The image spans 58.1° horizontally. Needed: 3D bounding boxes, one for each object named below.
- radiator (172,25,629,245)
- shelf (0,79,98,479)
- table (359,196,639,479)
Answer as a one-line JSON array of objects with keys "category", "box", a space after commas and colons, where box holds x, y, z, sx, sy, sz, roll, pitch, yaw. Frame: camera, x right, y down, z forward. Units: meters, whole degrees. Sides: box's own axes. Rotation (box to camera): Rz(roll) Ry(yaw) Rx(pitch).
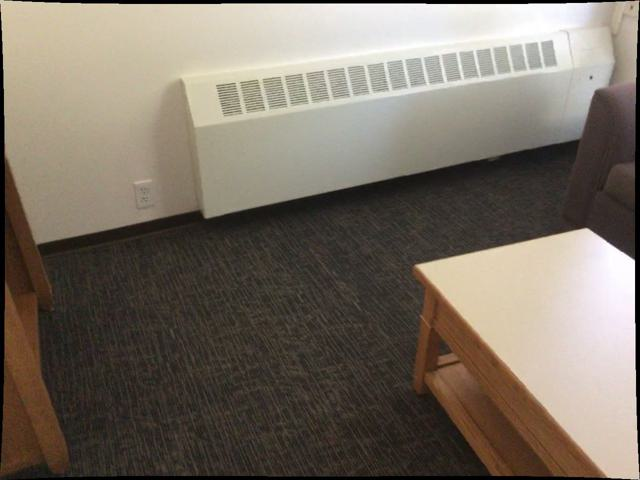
[{"category": "radiator", "box": [0.449, -0.521, 2.580, 2.107, 0.661, 0.180, -13, 37, -21]}, {"category": "shelf", "box": [-0.879, 0.100, 1.490, 0.350, 0.761, 0.800, -13, 37, -21]}, {"category": "table", "box": [0.639, 0.421, 1.290, 0.659, 0.481, 1.100, -11, 36, -20]}]
